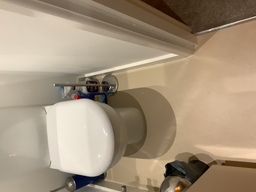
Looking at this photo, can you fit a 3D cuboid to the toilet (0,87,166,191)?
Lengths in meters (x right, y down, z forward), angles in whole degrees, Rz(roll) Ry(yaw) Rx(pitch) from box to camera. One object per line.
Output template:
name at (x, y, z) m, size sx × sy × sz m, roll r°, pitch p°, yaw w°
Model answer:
toilet at (-0.300, 0.200, 1.110) m, size 0.630 × 0.810 × 0.390 m, roll -9°, pitch 87°, yaw 37°
